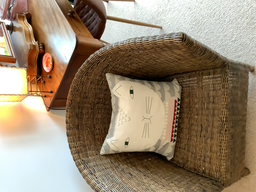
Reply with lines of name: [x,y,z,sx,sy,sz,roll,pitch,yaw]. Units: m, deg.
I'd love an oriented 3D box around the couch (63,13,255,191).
couch: [0.170,0.090,1.100,0.660,0.740,0.680,4,93,47]
